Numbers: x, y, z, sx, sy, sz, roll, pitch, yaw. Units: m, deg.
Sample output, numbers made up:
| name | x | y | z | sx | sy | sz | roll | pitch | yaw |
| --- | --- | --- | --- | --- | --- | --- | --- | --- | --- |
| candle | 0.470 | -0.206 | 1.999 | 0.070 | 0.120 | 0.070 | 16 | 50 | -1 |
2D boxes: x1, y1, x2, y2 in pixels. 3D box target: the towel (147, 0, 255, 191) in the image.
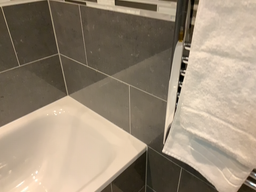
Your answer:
| name | x | y | z | sx | sy | sz | roll | pitch | yaw |
| --- | --- | --- | --- | --- | --- | --- | --- | --- | --- |
| towel | 0.240 | -0.020 | 0.560 | 0.340 | 0.830 | 0.120 | 27 | 41 | 35 |
